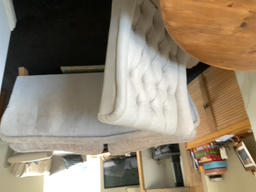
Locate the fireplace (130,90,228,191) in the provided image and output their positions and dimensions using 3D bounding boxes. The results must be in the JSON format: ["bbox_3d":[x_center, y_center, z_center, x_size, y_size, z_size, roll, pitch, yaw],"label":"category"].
[{"bbox_3d":[0.660,1.010,3.630,0.550,1.530,1.880,4,156,-18],"label":"fireplace"}]

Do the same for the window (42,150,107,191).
[{"bbox_3d":[-1.230,2.300,4.900,1.420,1.960,0.450,4,155,-19],"label":"window"}]

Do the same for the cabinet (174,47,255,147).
[{"bbox_3d":[1.010,0.090,2.480,0.330,0.800,1.060,4,156,-18],"label":"cabinet"}]
